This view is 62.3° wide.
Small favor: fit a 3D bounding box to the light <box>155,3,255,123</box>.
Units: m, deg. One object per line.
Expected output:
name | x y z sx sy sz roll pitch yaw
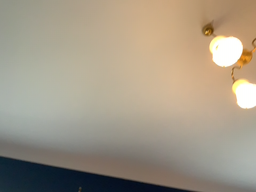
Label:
light | 0.680 -0.270 1.620 0.780 0.610 0.550 13 -152 -3
